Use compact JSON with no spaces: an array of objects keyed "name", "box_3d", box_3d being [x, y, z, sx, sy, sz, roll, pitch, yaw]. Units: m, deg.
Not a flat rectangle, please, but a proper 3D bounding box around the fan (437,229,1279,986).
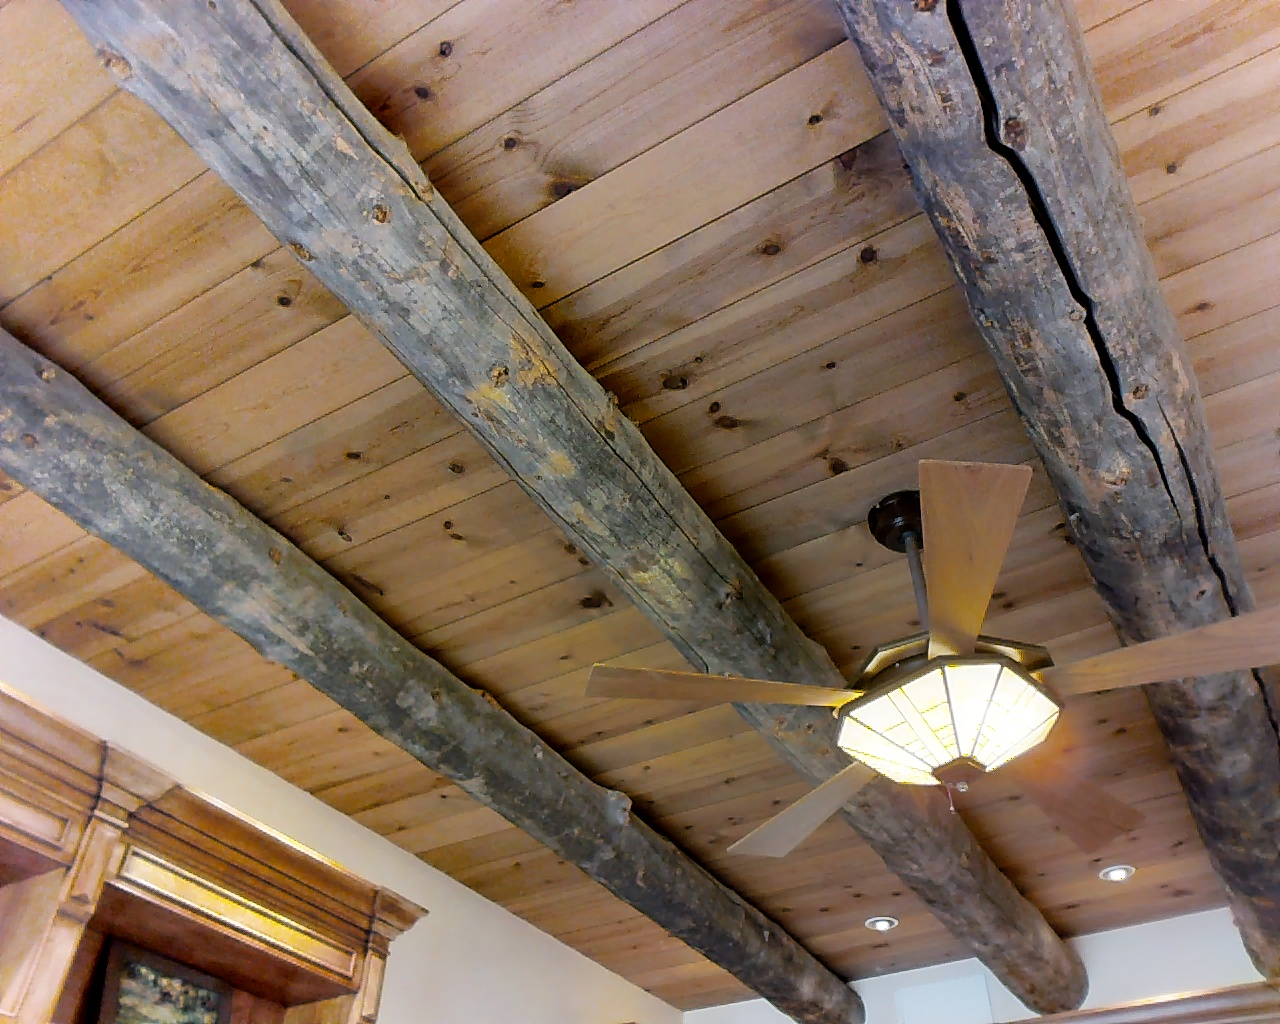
[{"name":"fan","box_3d":[0.600,0.380,2.020,1.330,0.370,1.390,-21,-47,22]}]
